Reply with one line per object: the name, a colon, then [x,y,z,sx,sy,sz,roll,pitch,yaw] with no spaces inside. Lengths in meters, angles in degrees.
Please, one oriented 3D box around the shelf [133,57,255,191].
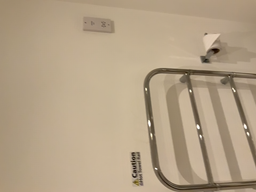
shelf: [0.510,0.120,1.030,0.070,0.940,0.610,116,154,-62]
